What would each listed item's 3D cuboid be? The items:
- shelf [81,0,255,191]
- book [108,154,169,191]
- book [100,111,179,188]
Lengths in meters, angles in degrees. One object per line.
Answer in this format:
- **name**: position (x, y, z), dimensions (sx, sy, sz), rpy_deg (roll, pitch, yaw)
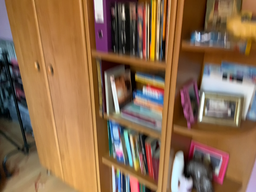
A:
- **shelf**: position (0.220, -0.060, 1.020), dimensions (0.800, 1.930, 0.360), rpy_deg (17, 29, 31)
- **book**: position (0.060, 0.610, 1.430), dimensions (0.380, 0.280, 0.130), rpy_deg (17, 29, 32)
- **book**: position (0.060, 0.300, 1.270), dimensions (0.420, 0.270, 0.180), rpy_deg (15, 29, 29)
